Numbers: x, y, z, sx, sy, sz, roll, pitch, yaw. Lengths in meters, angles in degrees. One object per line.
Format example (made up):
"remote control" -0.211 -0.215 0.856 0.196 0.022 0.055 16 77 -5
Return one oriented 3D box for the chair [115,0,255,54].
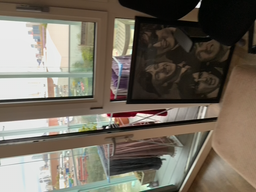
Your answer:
"chair" 0.510 -0.610 1.290 0.530 1.010 0.480 -116 31 -45
